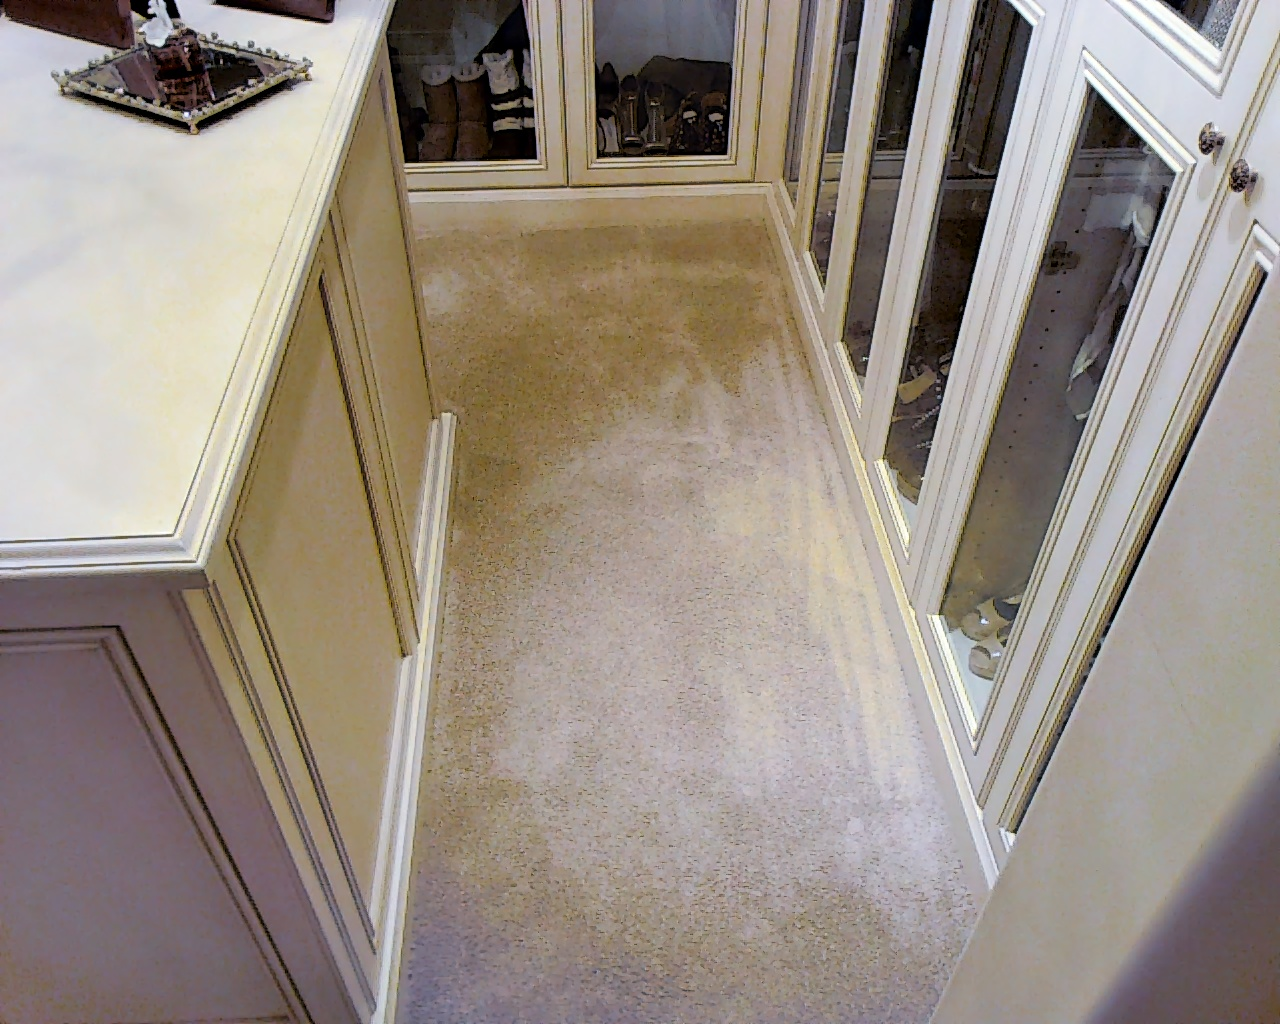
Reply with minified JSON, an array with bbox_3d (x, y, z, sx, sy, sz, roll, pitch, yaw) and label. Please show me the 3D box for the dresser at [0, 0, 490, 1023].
[{"bbox_3d":[-0.660,-0.050,1.650,0.680,1.080,1.500,-2,42,-2],"label":"dresser"}]
